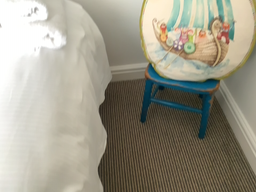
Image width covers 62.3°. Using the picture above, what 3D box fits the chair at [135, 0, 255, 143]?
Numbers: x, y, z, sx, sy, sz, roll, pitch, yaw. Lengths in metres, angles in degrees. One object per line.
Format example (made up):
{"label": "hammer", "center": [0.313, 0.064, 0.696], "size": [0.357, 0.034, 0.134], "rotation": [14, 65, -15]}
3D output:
{"label": "chair", "center": [0.280, -0.200, 0.980], "size": [0.370, 0.670, 0.470], "rotation": [13, 50, 13]}
